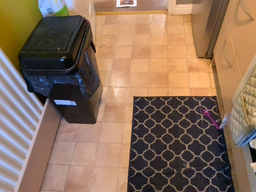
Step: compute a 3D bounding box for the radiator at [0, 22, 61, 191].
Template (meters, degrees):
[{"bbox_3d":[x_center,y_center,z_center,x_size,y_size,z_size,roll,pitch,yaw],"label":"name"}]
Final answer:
[{"bbox_3d":[-0.540,0.140,0.900,0.070,0.910,0.670,-1,55,5],"label":"radiator"}]
